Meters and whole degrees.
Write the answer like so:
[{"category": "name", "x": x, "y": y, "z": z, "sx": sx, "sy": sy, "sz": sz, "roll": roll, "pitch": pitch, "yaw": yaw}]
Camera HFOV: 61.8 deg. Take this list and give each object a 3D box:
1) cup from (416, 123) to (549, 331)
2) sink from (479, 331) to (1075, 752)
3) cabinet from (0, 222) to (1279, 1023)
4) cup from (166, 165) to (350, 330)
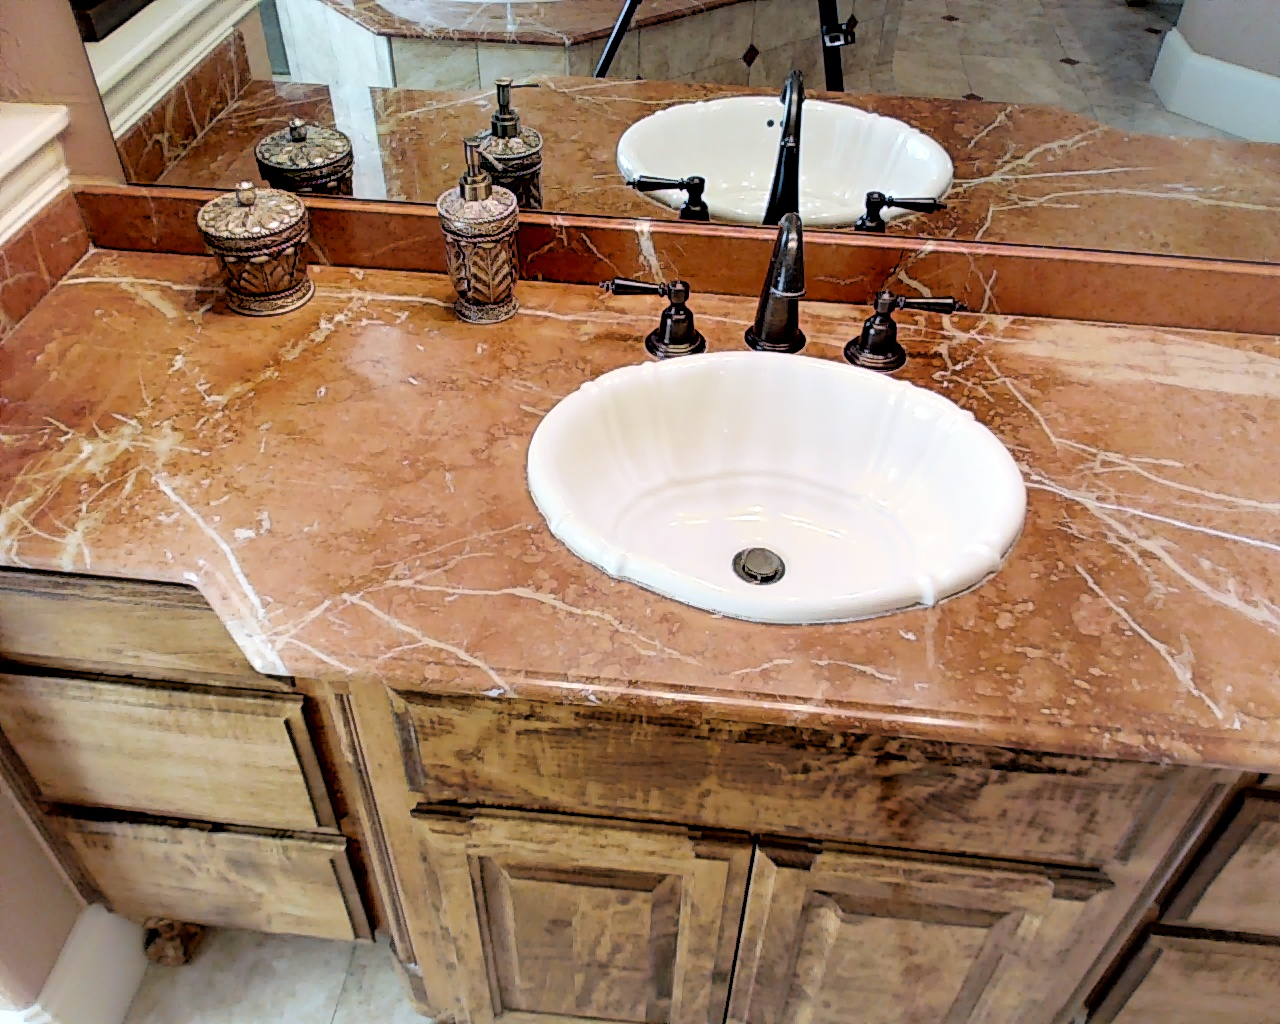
[{"category": "cup", "x": -0.160, "y": -0.300, "z": 1.130, "sx": 0.100, "sy": 0.170, "sz": 0.120, "roll": 5, "pitch": 43, "yaw": 4}, {"category": "sink", "x": 0.120, "y": 0.010, "z": 1.010, "sx": 0.460, "sy": 0.160, "sz": 0.350, "roll": 5, "pitch": 43, "yaw": 4}, {"category": "cabinet", "x": 0.110, "y": 0.300, "z": 1.300, "sx": 1.750, "sy": 1.000, "sz": 0.570, "roll": 5, "pitch": 43, "yaw": 5}, {"category": "cup", "x": -0.410, "y": -0.290, "z": 1.170, "sx": 0.130, "sy": 0.120, "sz": 0.130, "roll": 4, "pitch": 43, "yaw": 4}]
